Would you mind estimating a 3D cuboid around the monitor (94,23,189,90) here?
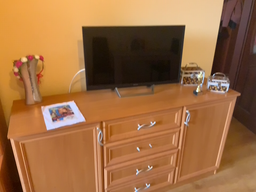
[{"bbox_3d":[0.100,-0.290,1.550,0.670,0.450,0.060,-5,25,-14],"label":"monitor"}]
